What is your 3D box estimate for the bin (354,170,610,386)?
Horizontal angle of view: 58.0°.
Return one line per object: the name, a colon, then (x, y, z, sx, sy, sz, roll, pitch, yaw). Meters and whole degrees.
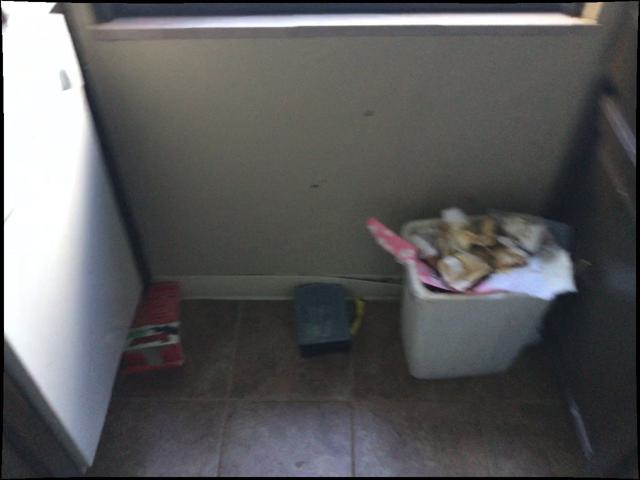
bin: (0.319, 0.100, 1.340, 0.459, 0.420, 0.290, -2, 50, 1)
